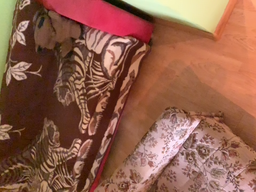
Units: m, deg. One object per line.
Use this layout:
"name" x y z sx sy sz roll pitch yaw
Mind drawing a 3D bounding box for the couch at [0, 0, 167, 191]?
"couch" -0.590 0.270 1.760 0.900 0.730 2.030 32 110 38
